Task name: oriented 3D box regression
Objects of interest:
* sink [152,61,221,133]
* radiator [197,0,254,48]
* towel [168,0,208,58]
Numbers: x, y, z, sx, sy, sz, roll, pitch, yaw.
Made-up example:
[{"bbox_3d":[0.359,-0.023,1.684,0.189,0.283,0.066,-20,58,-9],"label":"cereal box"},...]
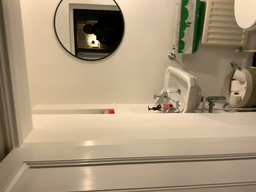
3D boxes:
[{"bbox_3d":[0.420,-0.030,1.720,0.590,0.290,0.410,-113,23,-70],"label":"sink"},{"bbox_3d":[0.880,-0.660,1.930,0.070,0.430,0.420,-111,22,-68],"label":"radiator"},{"bbox_3d":[0.530,-0.620,1.890,0.070,0.280,0.550,-113,24,-70],"label":"towel"}]
